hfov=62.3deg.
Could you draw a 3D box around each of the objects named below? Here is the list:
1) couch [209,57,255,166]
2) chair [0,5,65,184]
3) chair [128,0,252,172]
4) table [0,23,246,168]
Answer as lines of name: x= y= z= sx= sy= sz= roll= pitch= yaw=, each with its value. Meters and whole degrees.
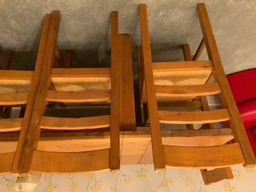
couch: x=1.170 y=0.170 z=1.940 sx=0.640 sy=0.780 sz=0.700 roll=-12 pitch=154 yaw=18
chair: x=-0.690 y=0.010 z=1.240 sx=0.450 sy=0.900 sz=0.530 roll=-2 pitch=155 yaw=-3
chair: x=0.240 y=-0.060 z=1.220 sx=0.420 sy=0.880 sz=0.490 roll=-2 pitch=155 yaw=-3
table: x=-0.340 y=0.050 z=1.530 sx=1.810 sy=0.750 sz=0.770 roll=-2 pitch=155 yaw=-3
